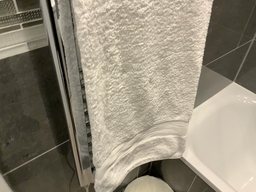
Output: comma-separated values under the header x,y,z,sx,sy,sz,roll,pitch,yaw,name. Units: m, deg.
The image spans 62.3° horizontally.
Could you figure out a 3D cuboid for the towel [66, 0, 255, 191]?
x,y,z,sx,sy,sz,roll,pitch,yaw,name
0.070,0.000,0.550,0.340,0.930,0.190,-24,49,-28,towel
